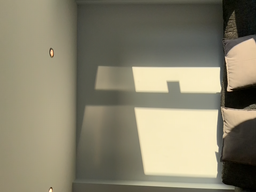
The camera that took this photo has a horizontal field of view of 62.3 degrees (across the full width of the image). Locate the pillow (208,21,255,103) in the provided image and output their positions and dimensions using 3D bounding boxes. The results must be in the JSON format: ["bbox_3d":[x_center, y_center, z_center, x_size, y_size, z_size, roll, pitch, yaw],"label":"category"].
[{"bbox_3d":[1.170,-0.300,2.010,0.330,0.540,0.530,114,180,-79],"label":"pillow"}]

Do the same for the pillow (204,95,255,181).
[{"bbox_3d":[1.160,0.400,2.000,0.610,0.540,0.270,-60,1,6],"label":"pillow"}]
